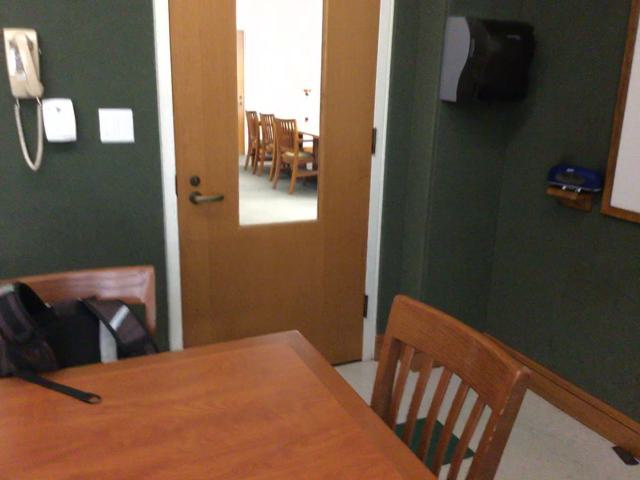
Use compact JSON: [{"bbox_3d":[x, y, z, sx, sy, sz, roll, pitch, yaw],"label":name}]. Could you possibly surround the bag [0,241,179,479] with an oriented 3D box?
[{"bbox_3d":[-0.590,0.310,1.390,0.250,0.510,0.410,13,19,34],"label":"bag"}]
